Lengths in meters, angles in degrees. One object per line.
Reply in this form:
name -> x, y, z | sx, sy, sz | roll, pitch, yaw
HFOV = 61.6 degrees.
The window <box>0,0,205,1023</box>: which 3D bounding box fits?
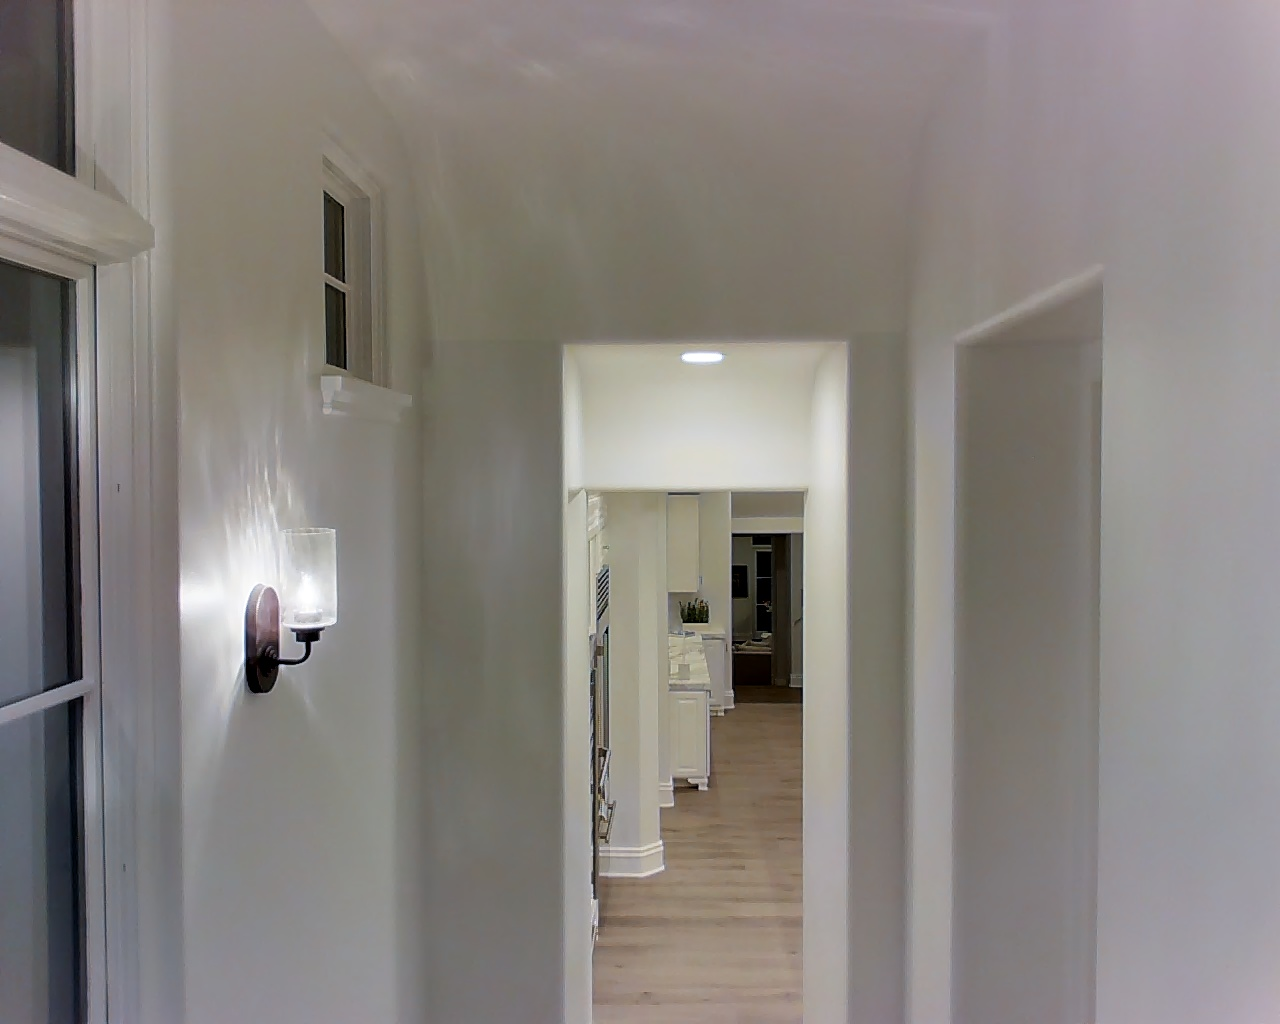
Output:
window -> -0.780, 0.090, 1.300 | 0.160, 1.801, 0.750 | 0, 1, 2
